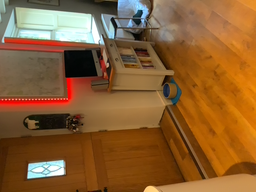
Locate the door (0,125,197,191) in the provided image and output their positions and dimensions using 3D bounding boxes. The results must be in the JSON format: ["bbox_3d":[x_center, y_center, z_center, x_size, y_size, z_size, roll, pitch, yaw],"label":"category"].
[{"bbox_3d":[-0.360,0.720,2.280,0.840,2.090,0.130,-111,28,-46],"label":"door"}]

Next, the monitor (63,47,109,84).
[{"bbox_3d":[-0.590,-0.440,2.860,0.760,0.520,0.060,-110,22,-44],"label":"monitor"}]
